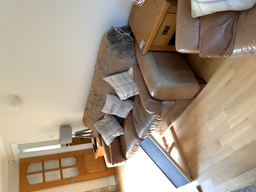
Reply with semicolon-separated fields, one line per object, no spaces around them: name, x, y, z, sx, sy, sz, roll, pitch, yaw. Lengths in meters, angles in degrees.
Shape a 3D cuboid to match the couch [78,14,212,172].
couch;-0.030;0.130;2.960;2.050;0.870;1.070;118;141;-49
